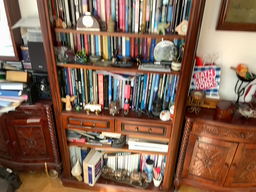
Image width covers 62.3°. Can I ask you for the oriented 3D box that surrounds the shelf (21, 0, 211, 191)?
[{"bbox_3d":[-0.080,-0.150,1.550,1.020,2.070,0.410,6,29,7],"label":"shelf"}]
